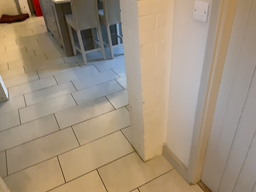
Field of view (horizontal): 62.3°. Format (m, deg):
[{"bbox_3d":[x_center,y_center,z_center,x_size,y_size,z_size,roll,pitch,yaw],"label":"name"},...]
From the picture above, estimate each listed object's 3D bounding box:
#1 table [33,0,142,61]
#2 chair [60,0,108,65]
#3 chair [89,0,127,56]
[{"bbox_3d":[-0.920,-1.670,4.090,1.360,0.910,2.290,-20,38,-21],"label":"table"},{"bbox_3d":[-0.640,-1.010,3.140,0.430,0.900,0.480,-19,38,-21],"label":"chair"},{"bbox_3d":[-0.320,-1.190,3.320,0.360,0.940,0.480,-19,38,-21],"label":"chair"}]
